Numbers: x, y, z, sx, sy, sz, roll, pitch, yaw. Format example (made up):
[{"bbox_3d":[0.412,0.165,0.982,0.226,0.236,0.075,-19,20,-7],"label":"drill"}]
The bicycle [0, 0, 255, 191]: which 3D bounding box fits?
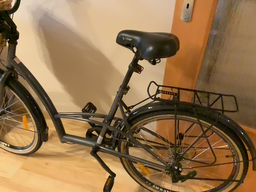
[{"bbox_3d":[-0.230,0.080,1.060,1.740,1.120,0.420,12,37,12],"label":"bicycle"}]
